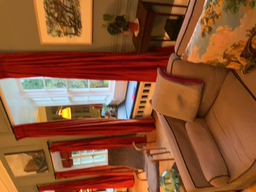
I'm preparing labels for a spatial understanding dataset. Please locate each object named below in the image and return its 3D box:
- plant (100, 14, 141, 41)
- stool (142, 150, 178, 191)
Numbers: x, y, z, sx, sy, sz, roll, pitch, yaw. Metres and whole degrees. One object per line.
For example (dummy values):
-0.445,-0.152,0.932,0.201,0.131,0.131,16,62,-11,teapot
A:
-0.110,-0.920,2.850,0.260,0.490,0.230,-107,20,-45,plant
0.540,1.320,3.660,0.490,0.440,0.610,180,87,-76,stool
